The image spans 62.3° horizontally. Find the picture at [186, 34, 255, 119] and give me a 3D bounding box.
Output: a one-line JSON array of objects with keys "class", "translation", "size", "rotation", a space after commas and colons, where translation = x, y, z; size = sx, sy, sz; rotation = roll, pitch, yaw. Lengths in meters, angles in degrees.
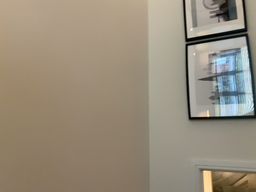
[{"class": "picture", "translation": [0.790, -0.160, 1.870], "size": [0.040, 0.510, 0.720], "rotation": [24, -115, -63]}]

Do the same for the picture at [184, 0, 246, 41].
[{"class": "picture", "translation": [0.800, -0.900, 2.010], "size": [0.040, 0.510, 0.700], "rotation": [23, -114, -63]}]
